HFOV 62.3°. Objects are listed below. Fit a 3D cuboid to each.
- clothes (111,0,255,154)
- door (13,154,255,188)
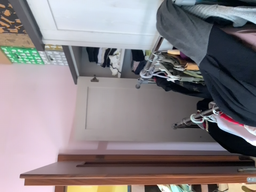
[{"bbox_3d":[0.810,0.020,1.120,1.180,1.740,0.550,113,158,-73],"label":"clothes"},{"bbox_3d":[0.600,0.420,1.310,0.810,2.160,0.120,114,157,-74],"label":"door"}]
